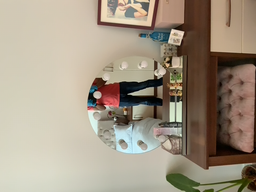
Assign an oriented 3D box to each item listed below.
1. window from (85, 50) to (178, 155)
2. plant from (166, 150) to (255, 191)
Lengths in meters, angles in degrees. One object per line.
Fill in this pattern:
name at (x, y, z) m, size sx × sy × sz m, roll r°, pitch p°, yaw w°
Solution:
window at (0.030, 0.050, 1.760) m, size 0.120 × 0.760 × 0.800 m, roll -172°, pitch 82°, yaw -77°
plant at (0.800, 0.770, 1.570) m, size 0.650 × 0.820 × 0.460 m, roll -148°, pitch 59°, yaw -75°
